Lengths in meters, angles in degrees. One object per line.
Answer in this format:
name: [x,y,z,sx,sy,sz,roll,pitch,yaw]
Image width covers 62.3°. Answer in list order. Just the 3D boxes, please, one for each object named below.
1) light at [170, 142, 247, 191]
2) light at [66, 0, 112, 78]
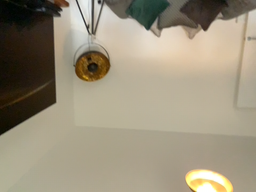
light: [0.640,0.740,1.730,0.480,0.530,0.350,-8,-164,-37]
light: [-0.570,-1.190,3.210,0.550,1.740,0.510,3,-167,6]
